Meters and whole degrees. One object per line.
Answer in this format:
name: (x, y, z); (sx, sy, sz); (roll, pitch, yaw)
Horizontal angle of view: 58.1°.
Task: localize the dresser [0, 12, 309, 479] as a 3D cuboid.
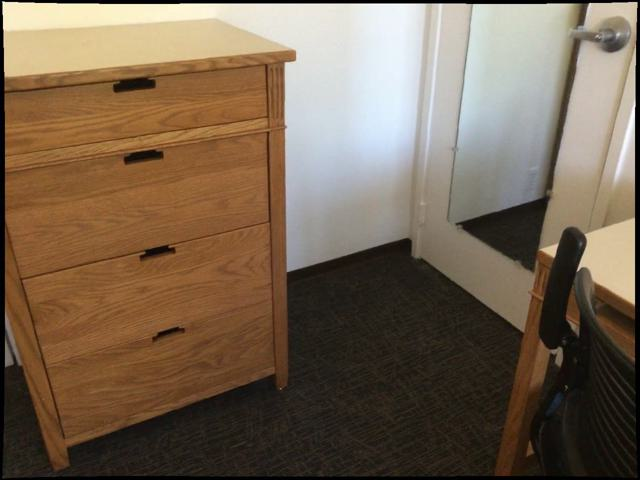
dresser: (-0.539, -0.020, 1.700); (0.819, 1.082, 0.590); (-16, 34, -25)
